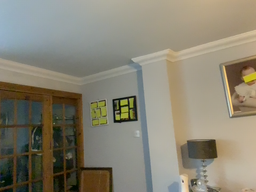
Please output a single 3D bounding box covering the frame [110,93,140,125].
[{"bbox_3d":[-0.050,0.190,2.970,0.460,0.400,0.040,-11,-12,35],"label":"frame"}]
